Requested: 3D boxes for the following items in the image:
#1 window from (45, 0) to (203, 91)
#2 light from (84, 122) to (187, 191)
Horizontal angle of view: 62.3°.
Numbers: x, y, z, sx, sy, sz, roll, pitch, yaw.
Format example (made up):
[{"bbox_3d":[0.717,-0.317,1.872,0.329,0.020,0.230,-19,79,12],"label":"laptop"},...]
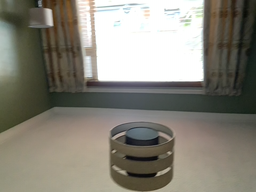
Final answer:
[{"bbox_3d":[-0.110,-0.880,2.770,2.030,1.600,0.120,2,-166,14],"label":"window"},{"bbox_3d":[0.080,0.400,1.210,0.390,0.340,0.440,5,160,27],"label":"light"}]
